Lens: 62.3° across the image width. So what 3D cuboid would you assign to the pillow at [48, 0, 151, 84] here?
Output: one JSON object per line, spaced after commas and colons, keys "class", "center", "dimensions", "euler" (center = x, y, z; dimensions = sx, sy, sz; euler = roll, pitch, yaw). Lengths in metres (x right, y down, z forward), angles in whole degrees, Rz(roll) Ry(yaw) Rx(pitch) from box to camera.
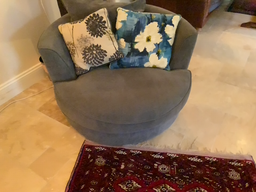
{"class": "pillow", "center": [-0.190, -0.400, 1.530], "dimensions": [0.580, 0.380, 0.200], "euler": [-25, 19, 8]}
